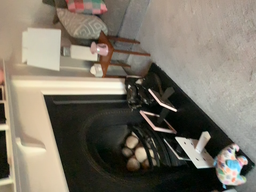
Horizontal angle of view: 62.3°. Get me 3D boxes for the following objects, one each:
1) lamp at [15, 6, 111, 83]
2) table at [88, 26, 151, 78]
[{"bbox_3d":[-0.620,-0.450,1.950,0.490,0.690,0.430,56,134,40],"label":"lamp"},{"bbox_3d":[-0.100,-0.430,2.150,0.340,0.460,0.350,59,136,38],"label":"table"}]
